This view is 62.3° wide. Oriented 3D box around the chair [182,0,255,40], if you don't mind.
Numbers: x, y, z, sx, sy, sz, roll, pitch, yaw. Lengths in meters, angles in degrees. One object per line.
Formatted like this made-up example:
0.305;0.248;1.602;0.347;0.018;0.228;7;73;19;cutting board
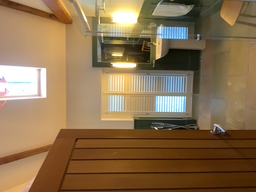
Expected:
1.080;-0.960;2.240;0.430;0.800;0.560;-95;8;-52;chair
